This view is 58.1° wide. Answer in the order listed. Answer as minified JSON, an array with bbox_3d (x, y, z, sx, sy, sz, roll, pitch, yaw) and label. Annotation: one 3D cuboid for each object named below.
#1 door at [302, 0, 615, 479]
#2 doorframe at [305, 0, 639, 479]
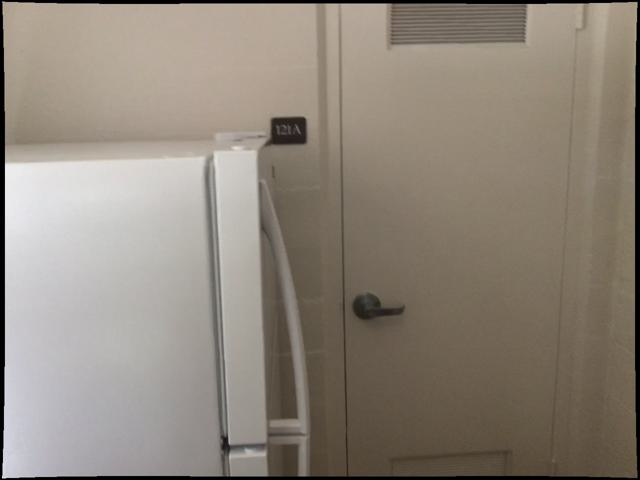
[{"bbox_3d":[0.429,0.201,1.880,0.878,1.935,0.140,-3,14,-2],"label":"door"},{"bbox_3d":[0.479,0.221,1.840,0.958,1.865,0.160,-3,14,-2],"label":"doorframe"}]
